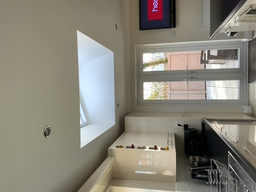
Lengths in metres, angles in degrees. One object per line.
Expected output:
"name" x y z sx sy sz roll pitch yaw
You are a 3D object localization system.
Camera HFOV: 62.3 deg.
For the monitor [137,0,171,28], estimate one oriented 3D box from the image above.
"monitor" 0.470 -1.740 3.860 0.040 0.620 0.950 -15 -75 -79
